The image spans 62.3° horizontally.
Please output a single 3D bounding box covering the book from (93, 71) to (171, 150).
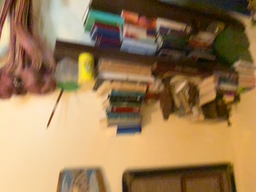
[{"bbox_3d":[0.020,0.090,1.170,0.400,0.390,0.120,5,164,-25],"label":"book"}]
